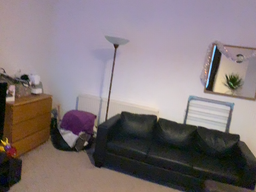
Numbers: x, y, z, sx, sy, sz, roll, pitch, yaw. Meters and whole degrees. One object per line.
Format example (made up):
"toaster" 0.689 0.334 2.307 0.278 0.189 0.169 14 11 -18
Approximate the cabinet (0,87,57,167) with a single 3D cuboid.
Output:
"cabinet" -1.520 0.350 2.950 0.550 0.780 0.890 11 11 13

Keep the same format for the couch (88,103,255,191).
"couch" 0.590 0.720 2.900 2.030 0.710 0.800 12 11 15
